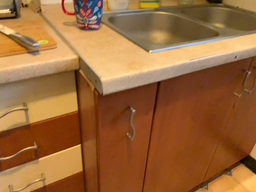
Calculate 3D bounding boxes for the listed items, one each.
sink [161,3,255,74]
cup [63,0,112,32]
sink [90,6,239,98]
[{"bbox_3d":[0.440,-0.300,1.000,0.380,0.170,0.400,-15,38,-26],"label":"sink"},{"bbox_3d":[-0.140,-0.300,0.710,0.110,0.110,0.170,-14,38,-24],"label":"cup"},{"bbox_3d":[0.110,-0.210,0.830,0.380,0.170,0.400,-15,38,-26],"label":"sink"}]
